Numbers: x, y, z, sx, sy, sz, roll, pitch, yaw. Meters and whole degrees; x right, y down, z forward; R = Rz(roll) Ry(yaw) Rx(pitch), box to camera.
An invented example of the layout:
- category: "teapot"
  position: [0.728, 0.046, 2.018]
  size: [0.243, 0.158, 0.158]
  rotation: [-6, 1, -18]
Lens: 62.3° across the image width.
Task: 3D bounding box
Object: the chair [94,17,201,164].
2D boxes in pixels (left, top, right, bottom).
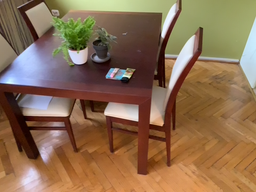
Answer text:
- category: "chair"
  position: [0.140, -0.010, 1.550]
  size: [0.550, 0.940, 0.440]
  rotation: [8, 41, 10]
